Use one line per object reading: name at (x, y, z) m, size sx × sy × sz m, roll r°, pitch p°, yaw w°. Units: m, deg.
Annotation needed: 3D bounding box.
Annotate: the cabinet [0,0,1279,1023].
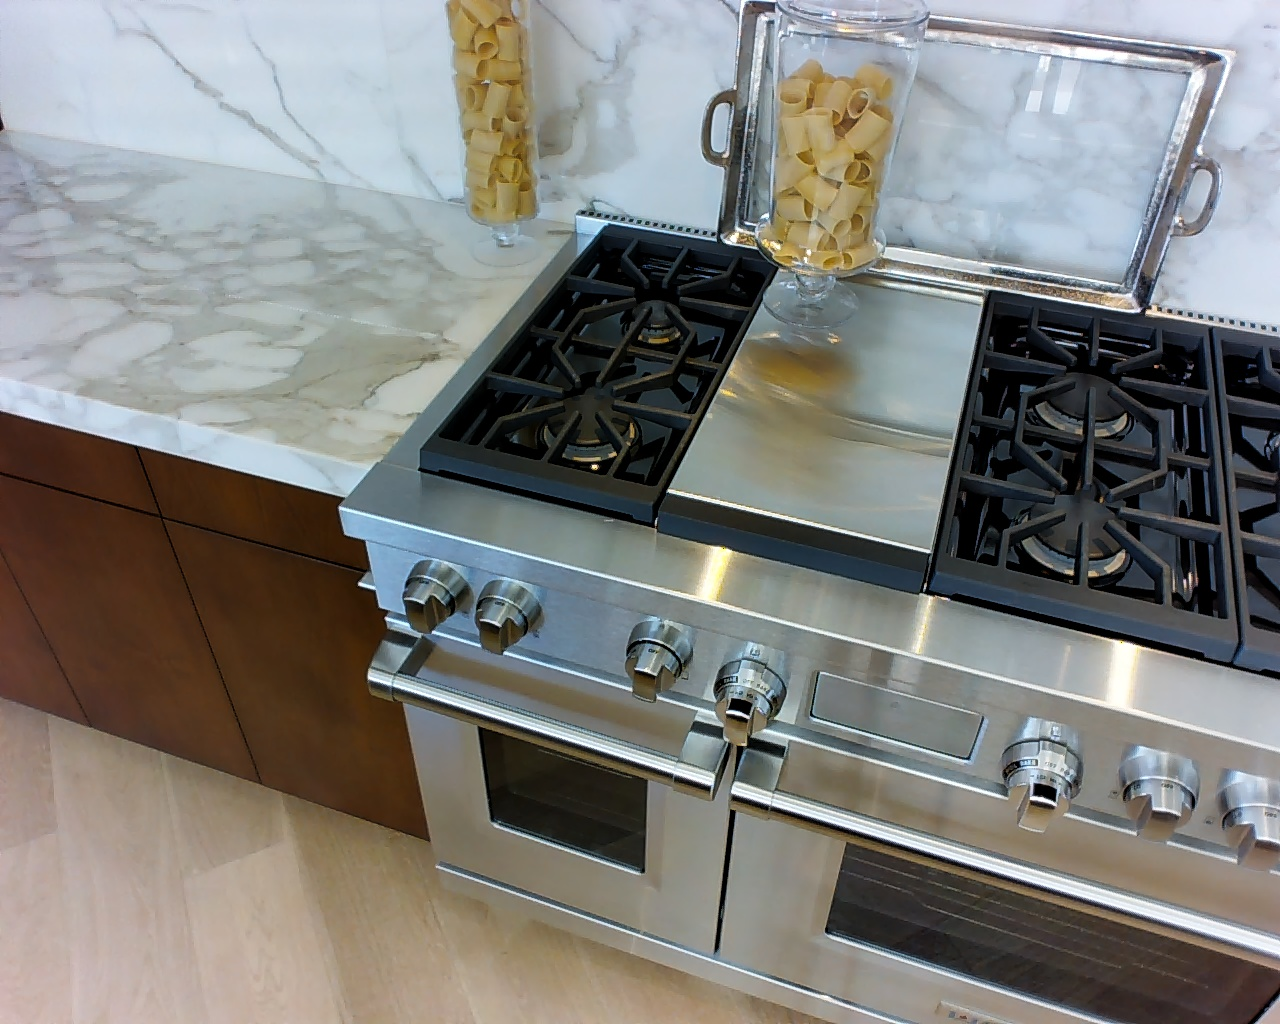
cabinet at (0.800, 0.380, 1.060) m, size 4.540 × 1.410 × 1.300 m, roll 14°, pitch 43°, yaw 15°
